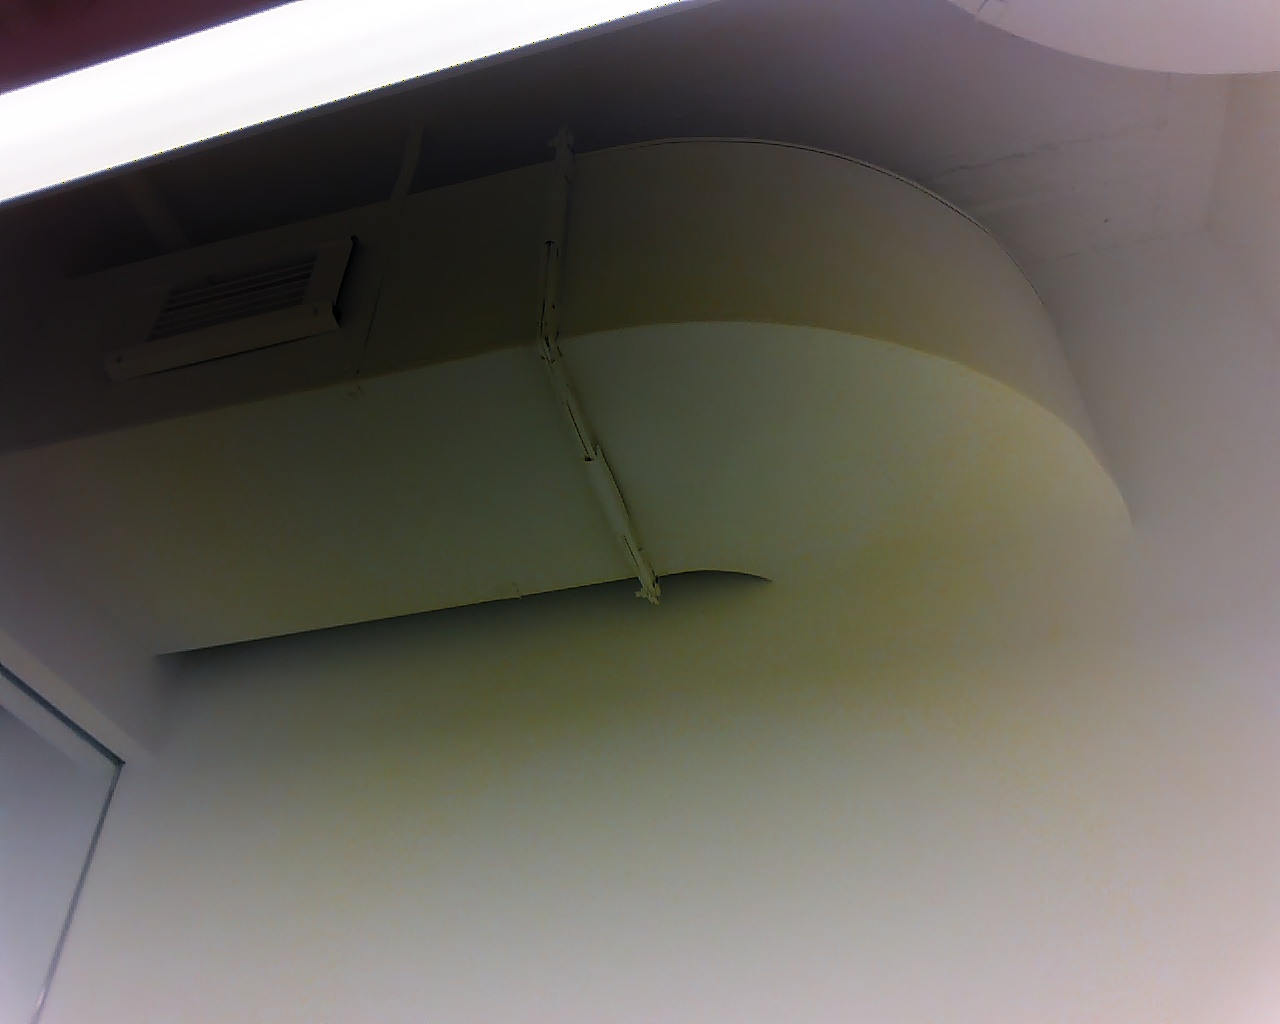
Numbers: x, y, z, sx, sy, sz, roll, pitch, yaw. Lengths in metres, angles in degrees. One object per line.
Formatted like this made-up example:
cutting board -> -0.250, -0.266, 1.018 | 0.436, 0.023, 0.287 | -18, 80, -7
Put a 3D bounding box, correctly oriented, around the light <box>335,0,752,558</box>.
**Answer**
light -> -0.130, -0.450, 0.890 | 0.190, 0.190, 1.300 | -11, -43, 11
